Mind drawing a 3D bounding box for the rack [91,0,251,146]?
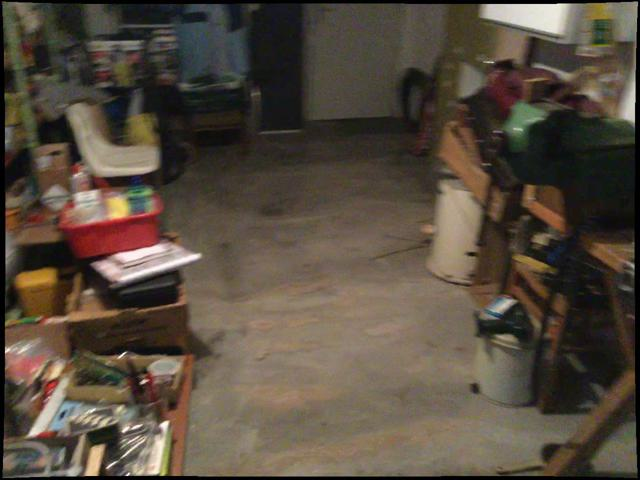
[{"bbox_3d":[-1.169,-1.552,4.640,1.129,1.491,0.250,-7,28,-13],"label":"rack"}]

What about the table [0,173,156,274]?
[{"bbox_3d":[-1.039,-0.100,2.580,0.569,0.140,0.640,-7,28,-13],"label":"table"}]

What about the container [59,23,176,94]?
[{"bbox_3d":[-1.449,-1.341,4.220,0.709,0.380,0.570,-7,28,-13],"label":"container"}]
